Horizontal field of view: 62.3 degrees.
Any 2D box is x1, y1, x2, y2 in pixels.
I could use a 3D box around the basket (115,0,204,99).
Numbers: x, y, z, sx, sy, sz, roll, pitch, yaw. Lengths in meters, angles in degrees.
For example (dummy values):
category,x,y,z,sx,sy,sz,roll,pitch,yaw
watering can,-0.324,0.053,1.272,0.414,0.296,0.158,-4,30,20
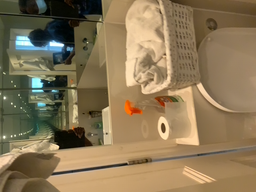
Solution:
category,x,y,z,sx,sy,sz,roll,pitch,yaw
basket,0.110,-0.190,0.880,0.240,0.250,0.360,150,117,-69
